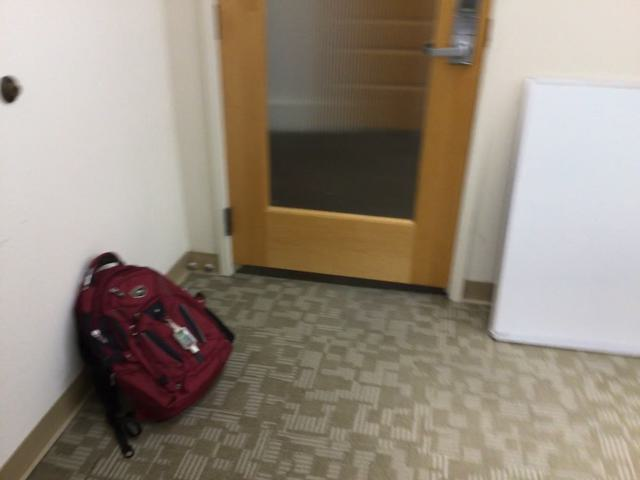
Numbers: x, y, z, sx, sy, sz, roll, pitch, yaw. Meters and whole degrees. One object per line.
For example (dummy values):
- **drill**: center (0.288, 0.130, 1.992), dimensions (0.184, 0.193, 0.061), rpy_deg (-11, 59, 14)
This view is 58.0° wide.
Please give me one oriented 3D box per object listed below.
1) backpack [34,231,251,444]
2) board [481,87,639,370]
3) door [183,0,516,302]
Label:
- **backpack**: center (-0.500, 0.270, 1.760), dimensions (0.380, 0.470, 0.410), rpy_deg (1, 25, 17)
- **board**: center (1.150, -0.020, 1.800), dimensions (1.200, 0.900, 0.190), rpy_deg (-2, 24, 18)
- **door**: center (0.110, -0.480, 1.980), dimensions (0.930, 1.420, 0.200), rpy_deg (-6, 23, 20)
